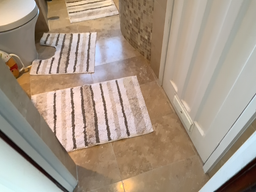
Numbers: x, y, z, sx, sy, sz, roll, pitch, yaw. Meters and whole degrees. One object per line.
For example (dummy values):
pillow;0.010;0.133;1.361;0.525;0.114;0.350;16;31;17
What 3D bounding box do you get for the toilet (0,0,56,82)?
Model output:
toilet;-0.920;-0.440;1.600;0.580;0.460;0.410;-14;55;-8
